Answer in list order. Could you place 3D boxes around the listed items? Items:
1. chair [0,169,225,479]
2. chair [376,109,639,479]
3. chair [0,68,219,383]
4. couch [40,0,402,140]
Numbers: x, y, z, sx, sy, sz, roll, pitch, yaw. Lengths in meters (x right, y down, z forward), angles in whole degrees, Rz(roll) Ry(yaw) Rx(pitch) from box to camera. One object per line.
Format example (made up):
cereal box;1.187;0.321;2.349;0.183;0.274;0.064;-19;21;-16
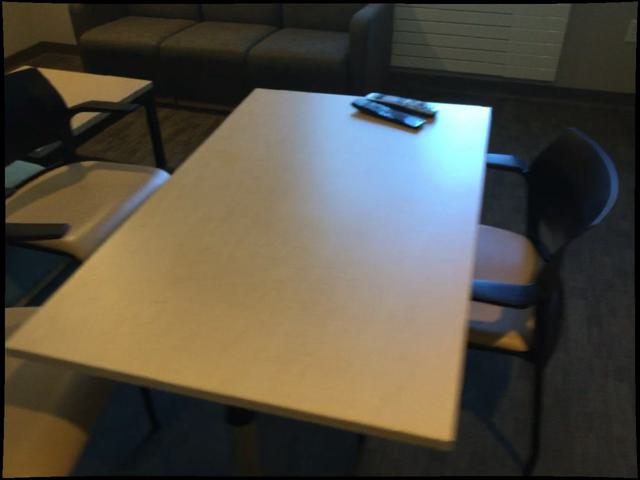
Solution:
chair;-0.539;0.340;1.210;0.529;0.781;0.570;-1;37;0
chair;0.480;0.130;1.510;0.540;0.720;0.530;9;38;13
chair;-0.749;-0.060;1.810;0.609;0.730;0.540;9;38;13
couch;-0.519;-1.241;3.440;1.868;0.781;0.860;9;38;13
